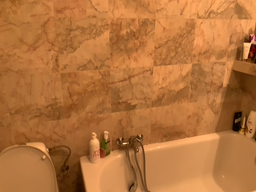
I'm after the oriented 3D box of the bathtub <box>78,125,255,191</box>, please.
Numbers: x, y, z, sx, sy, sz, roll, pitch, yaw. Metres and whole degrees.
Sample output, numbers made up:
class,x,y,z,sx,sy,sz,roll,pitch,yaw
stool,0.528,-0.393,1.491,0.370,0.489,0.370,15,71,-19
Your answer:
class,x,y,z,sx,sy,sz,roll,pitch,yaw
bathtub,0.420,0.710,1.460,1.370,0.560,0.710,-7,20,-18
